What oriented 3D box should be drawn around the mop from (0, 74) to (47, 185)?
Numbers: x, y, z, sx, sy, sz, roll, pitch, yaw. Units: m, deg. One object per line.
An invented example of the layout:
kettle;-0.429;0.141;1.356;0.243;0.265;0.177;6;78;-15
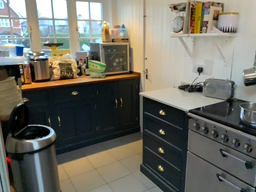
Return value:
mop;-1.110;0.320;2.150;0.450;1.030;0.220;10;18;34
